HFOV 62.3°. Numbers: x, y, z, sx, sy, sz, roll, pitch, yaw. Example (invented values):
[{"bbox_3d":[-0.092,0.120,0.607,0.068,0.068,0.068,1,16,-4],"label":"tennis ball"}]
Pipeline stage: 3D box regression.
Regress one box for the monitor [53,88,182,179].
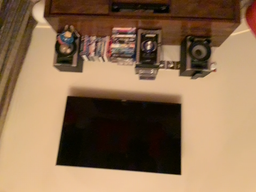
[{"bbox_3d":[-0.080,0.330,1.950,1.070,0.640,0.060,10,170,2],"label":"monitor"}]
